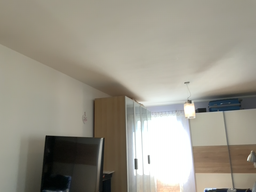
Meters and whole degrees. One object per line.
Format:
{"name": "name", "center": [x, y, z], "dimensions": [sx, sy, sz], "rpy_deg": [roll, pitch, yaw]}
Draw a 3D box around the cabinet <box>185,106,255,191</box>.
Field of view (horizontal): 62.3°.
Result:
{"name": "cabinet", "center": [2.230, 1.410, 4.870], "dimensions": [1.530, 2.190, 0.640], "rpy_deg": [-6, -13, 18]}
